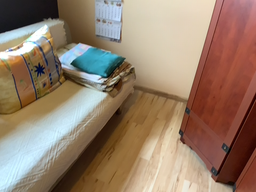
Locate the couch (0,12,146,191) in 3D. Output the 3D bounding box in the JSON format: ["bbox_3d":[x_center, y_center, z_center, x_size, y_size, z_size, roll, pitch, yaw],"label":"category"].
[{"bbox_3d":[-0.730,0.110,1.430,0.950,0.790,2.090,18,36,17],"label":"couch"}]
